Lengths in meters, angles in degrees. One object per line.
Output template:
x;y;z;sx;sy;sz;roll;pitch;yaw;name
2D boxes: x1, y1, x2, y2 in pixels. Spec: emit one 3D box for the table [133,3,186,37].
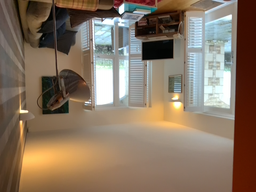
0.670;-1.570;4.470;1.000;0.450;0.530;2;-176;23;table
